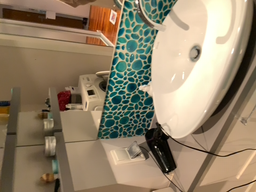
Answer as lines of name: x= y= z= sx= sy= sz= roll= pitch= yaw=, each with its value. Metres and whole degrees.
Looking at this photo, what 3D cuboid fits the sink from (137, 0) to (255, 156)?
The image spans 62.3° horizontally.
sink: x=0.240 y=-0.150 z=0.770 sx=0.380 sy=0.130 sz=0.610 roll=-124 pitch=42 yaw=-51
